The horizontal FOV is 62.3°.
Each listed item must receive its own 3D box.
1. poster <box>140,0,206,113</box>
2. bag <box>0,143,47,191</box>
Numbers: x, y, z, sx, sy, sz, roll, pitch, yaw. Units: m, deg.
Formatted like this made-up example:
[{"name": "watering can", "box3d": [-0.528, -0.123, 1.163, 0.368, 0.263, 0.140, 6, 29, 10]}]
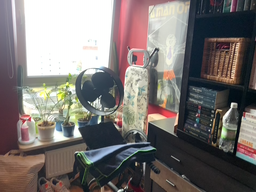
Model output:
[{"name": "poster", "box3d": [0.360, -0.380, 1.920, 0.060, 0.920, 0.640, -6, 16, -34]}, {"name": "bag", "box3d": [-0.990, 0.750, 1.910, 0.410, 0.460, 0.330, -7, 17, -36]}]
